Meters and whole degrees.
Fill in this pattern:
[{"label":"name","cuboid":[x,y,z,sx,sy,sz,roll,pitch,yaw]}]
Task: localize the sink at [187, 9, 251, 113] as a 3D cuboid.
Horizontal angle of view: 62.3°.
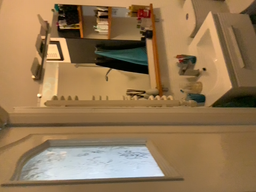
[{"label":"sink","cuboid":[0.630,-0.250,1.580,0.390,0.150,0.650,105,164,-64]}]
